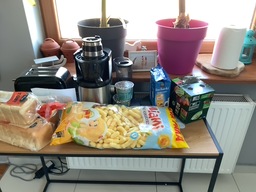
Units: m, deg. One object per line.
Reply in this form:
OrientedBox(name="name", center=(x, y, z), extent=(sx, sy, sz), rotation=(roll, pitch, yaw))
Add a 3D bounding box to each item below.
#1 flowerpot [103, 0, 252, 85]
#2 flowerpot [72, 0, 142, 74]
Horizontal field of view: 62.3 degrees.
OrientedBox(name="flowerpot", center=(0.240, -0.630, 1.080), extent=(0.690, 1.080, 0.320), rotation=(3, 30, 5))
OrientedBox(name="flowerpot", center=(-0.100, -0.640, 1.140), extent=(0.360, 1.020, 0.240), rotation=(3, 30, 4))
